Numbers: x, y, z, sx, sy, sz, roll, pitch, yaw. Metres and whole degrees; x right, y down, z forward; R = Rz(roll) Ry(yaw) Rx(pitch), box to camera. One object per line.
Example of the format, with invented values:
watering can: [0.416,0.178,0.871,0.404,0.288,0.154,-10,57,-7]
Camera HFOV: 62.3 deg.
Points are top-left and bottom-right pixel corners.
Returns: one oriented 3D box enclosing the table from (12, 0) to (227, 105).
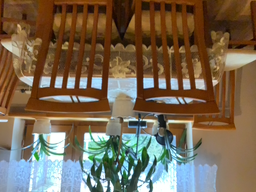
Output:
table: [-0.040,-0.390,1.660,1.190,0.750,0.850,2,169,-1]
